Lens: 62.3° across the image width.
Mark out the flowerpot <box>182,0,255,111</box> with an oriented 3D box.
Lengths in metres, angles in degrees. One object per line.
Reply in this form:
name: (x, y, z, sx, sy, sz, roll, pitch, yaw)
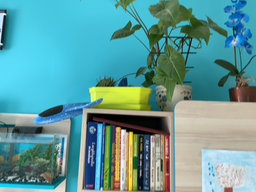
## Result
flowerpot: (0.430, -0.220, 0.980, 0.270, 0.550, 0.290, 3, -8, -4)
